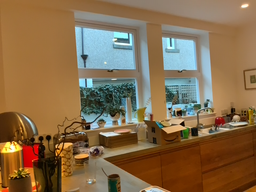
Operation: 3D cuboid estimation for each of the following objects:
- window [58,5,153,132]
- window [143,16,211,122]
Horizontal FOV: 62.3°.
[{"bbox_3d":[-0.300,-0.370,3.070,1.200,1.570,0.390,-4,0,-30],"label":"window"},{"bbox_3d":[0.870,-0.440,3.700,1.060,1.640,0.400,-4,0,-29],"label":"window"}]
